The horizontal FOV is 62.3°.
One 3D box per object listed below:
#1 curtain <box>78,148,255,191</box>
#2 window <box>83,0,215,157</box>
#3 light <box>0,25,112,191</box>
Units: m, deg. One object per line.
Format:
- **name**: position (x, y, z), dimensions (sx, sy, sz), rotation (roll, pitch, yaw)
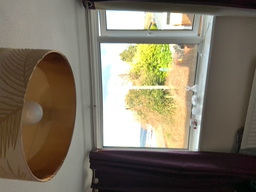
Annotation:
- **curtain**: position (0.620, 0.940, 2.180), dimensions (0.160, 2.230, 0.680), rotation (-77, -11, -74)
- **window**: position (0.170, -0.200, 2.250), dimensions (0.290, 1.160, 1.710), rotation (-79, -9, -71)
- **light**: position (-0.350, 0.070, 0.630), dimensions (0.380, 0.380, 0.590), rotation (51, -167, -12)
